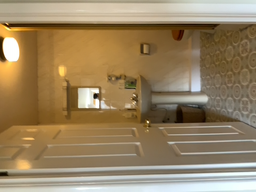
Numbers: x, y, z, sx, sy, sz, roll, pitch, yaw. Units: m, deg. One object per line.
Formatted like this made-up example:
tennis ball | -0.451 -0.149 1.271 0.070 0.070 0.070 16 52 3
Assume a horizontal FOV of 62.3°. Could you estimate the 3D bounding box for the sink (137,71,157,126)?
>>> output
sink | 0.230 0.030 2.680 0.390 0.210 0.650 -178 88 -87
